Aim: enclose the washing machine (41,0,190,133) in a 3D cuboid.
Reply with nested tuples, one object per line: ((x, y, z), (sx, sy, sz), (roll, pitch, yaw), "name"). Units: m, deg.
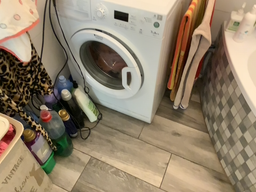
((0.000, -0.330, 1.360), (0.550, 0.840, 0.650), (20, 55, 15), "washing machine")

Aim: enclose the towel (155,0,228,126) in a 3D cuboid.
((0.370, -0.210, 1.330), (0.190, 0.840, 0.380), (21, 55, 15), "towel")
